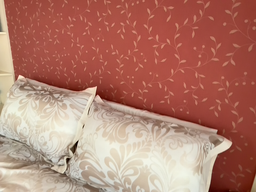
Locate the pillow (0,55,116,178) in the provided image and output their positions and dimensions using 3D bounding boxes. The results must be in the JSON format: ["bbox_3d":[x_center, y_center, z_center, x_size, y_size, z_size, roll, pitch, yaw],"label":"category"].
[{"bbox_3d":[-0.560,0.060,1.380,0.830,0.410,0.380,23,23,24],"label":"pillow"}]

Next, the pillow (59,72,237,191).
[{"bbox_3d":[0.060,0.270,0.960,0.650,0.430,0.200,43,24,12],"label":"pillow"}]
